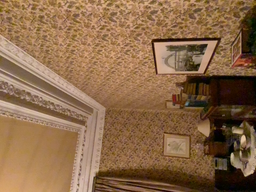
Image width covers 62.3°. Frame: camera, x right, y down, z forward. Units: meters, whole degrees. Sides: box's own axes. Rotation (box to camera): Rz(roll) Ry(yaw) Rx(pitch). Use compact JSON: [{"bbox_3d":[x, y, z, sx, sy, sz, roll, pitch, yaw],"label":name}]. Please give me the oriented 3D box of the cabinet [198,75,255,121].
[{"bbox_3d":[1.610,0.070,2.500,0.860,1.380,0.340,54,-140,-73],"label":"cabinet"}]
